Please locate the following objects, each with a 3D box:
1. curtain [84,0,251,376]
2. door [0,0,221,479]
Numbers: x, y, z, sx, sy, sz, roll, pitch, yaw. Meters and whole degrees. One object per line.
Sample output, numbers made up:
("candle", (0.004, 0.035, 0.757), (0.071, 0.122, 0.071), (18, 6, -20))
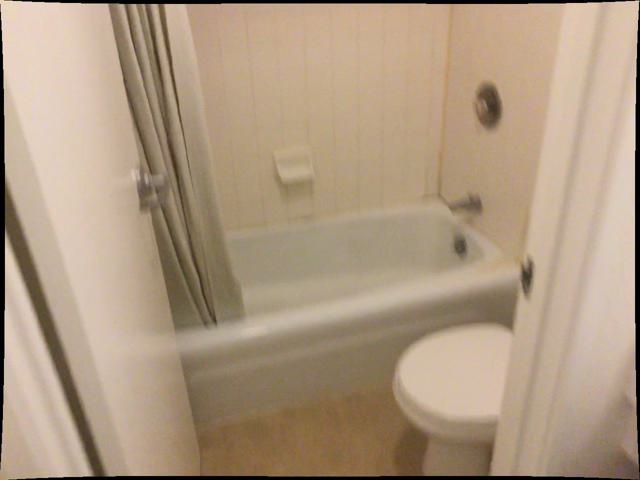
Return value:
("curtain", (-0.409, -0.341, 1.520), (0.260, 1.582, 0.210), (-10, 30, -13))
("door", (-0.359, -0.040, 1.070), (0.120, 1.892, 0.700), (-7, 29, -8))
